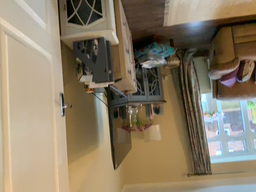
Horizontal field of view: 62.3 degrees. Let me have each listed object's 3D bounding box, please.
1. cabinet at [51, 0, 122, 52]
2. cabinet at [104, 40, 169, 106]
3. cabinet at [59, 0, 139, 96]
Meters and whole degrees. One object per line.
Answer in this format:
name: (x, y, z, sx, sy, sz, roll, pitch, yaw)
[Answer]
cabinet: (-0.300, -0.660, 1.580, 0.420, 0.540, 0.310, -6, 175, 4)
cabinet: (0.180, -0.330, 3.660, 0.470, 0.920, 1.070, -10, 173, 38)
cabinet: (-0.220, -0.470, 2.260, 0.550, 0.800, 1.090, -6, 174, 5)
